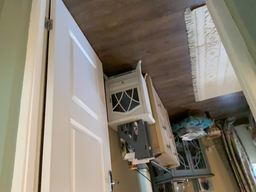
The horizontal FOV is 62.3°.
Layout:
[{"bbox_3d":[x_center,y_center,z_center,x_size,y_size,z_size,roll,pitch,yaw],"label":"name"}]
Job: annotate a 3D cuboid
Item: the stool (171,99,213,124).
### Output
[{"bbox_3d":[0.980,0.250,3.300,0.490,0.280,0.300,2,152,-22],"label":"stool"}]
